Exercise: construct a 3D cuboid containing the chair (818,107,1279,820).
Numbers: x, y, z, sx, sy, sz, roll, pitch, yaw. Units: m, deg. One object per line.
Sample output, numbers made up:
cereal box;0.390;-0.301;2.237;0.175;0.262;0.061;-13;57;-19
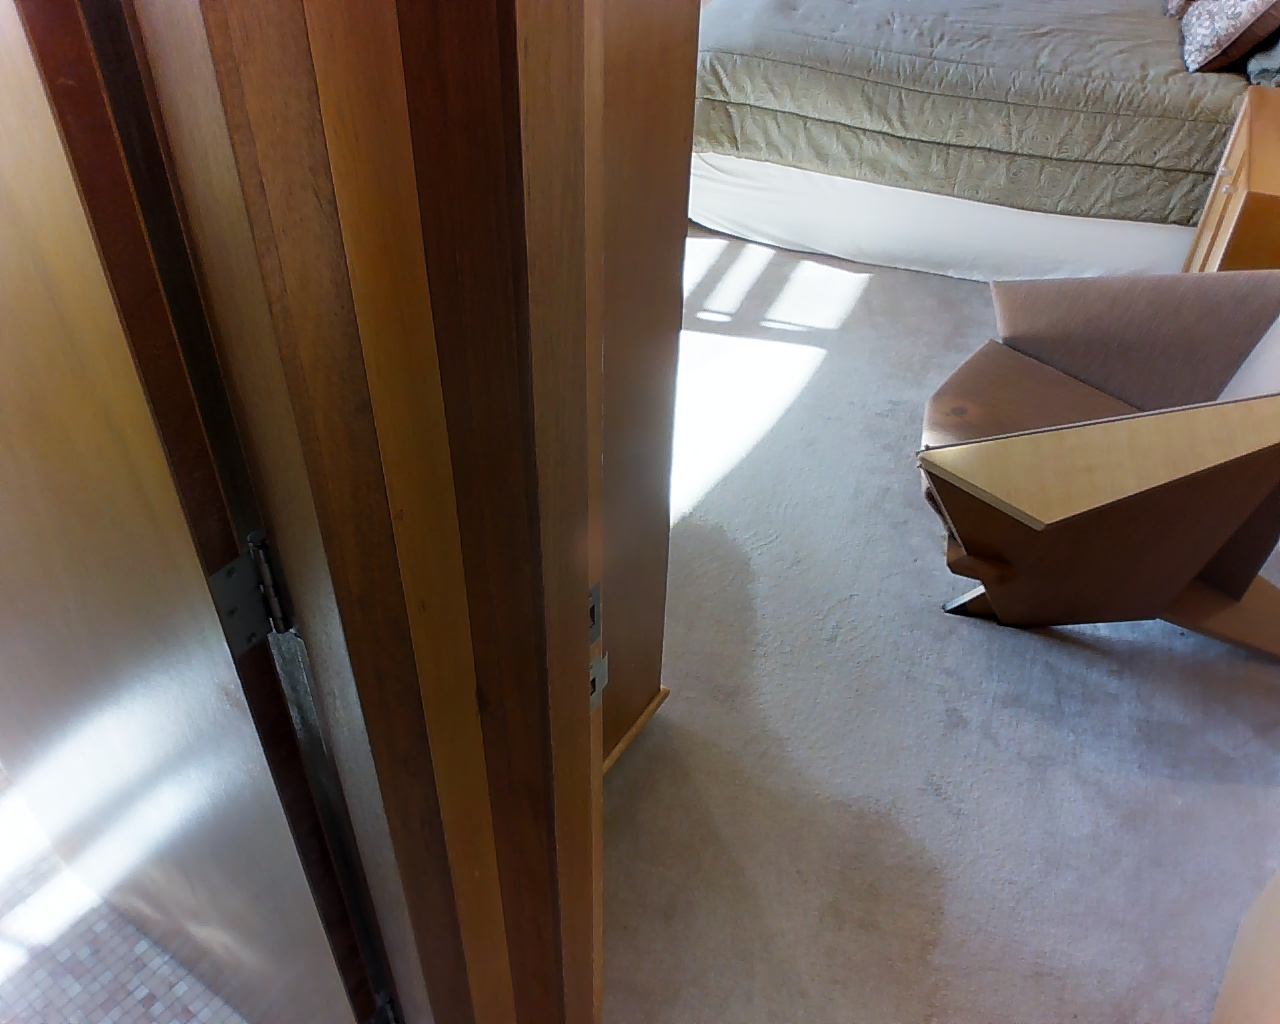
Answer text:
chair;1.010;-0.160;2.120;0.940;0.780;1.020;18;44;18
